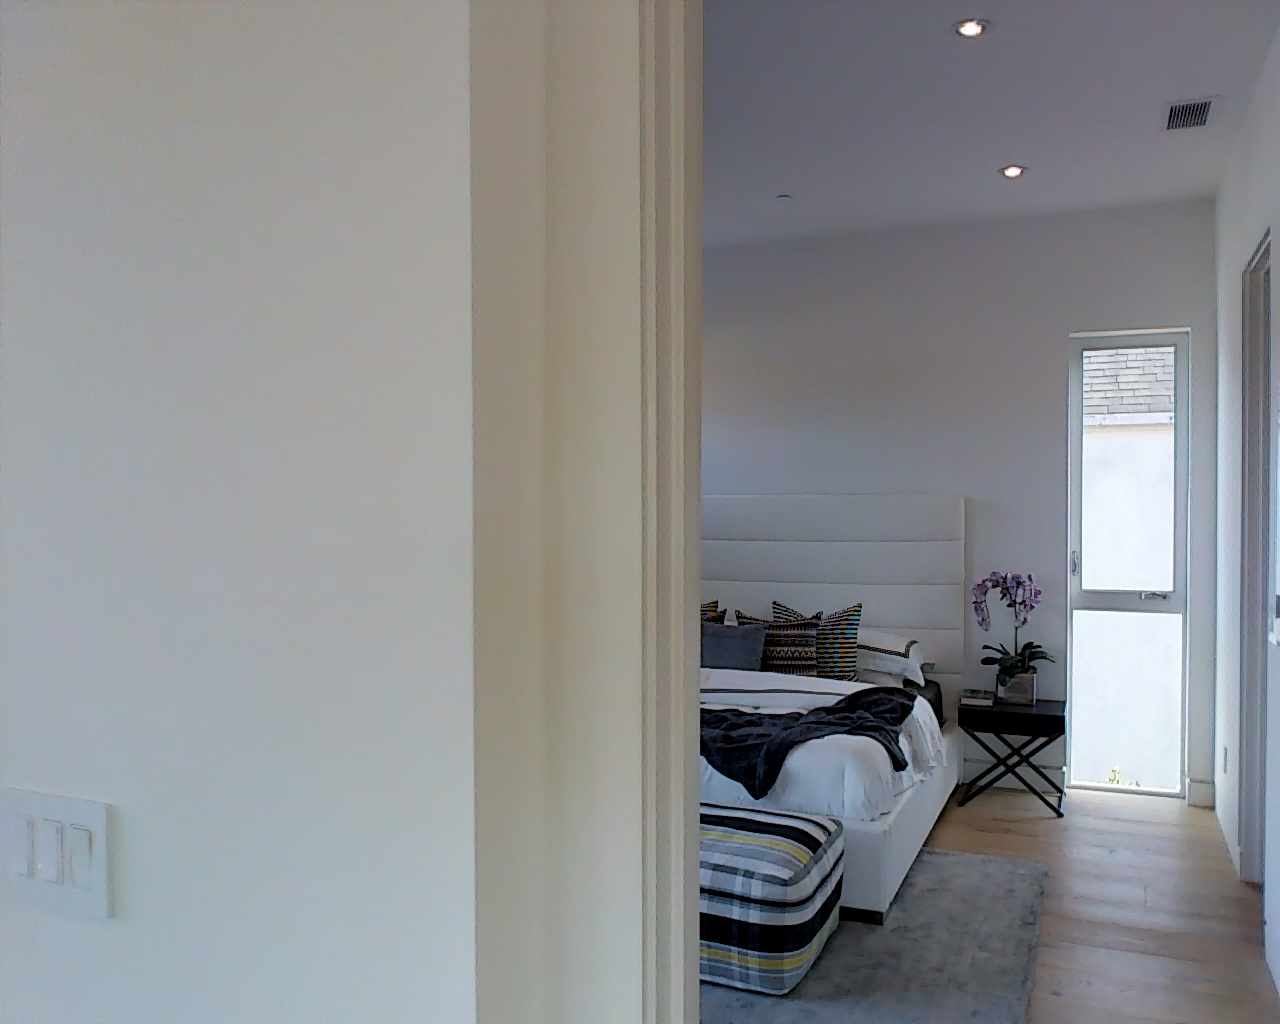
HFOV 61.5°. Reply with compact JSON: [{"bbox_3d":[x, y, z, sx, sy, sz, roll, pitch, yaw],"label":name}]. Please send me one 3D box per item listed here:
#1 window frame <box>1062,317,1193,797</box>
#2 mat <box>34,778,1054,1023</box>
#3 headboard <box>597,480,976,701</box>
[{"bbox_3d":[2.559,0.230,5.670,0.610,2.431,0.220,0,1,23],"label":"window frame"},{"bbox_3d":[-0.140,1.501,4.180,3.179,0.040,2.430,0,1,23],"label":"mat"},{"bbox_3d":[0.790,0.420,6.290,2.239,1.191,0.140,0,1,23],"label":"headboard"}]
